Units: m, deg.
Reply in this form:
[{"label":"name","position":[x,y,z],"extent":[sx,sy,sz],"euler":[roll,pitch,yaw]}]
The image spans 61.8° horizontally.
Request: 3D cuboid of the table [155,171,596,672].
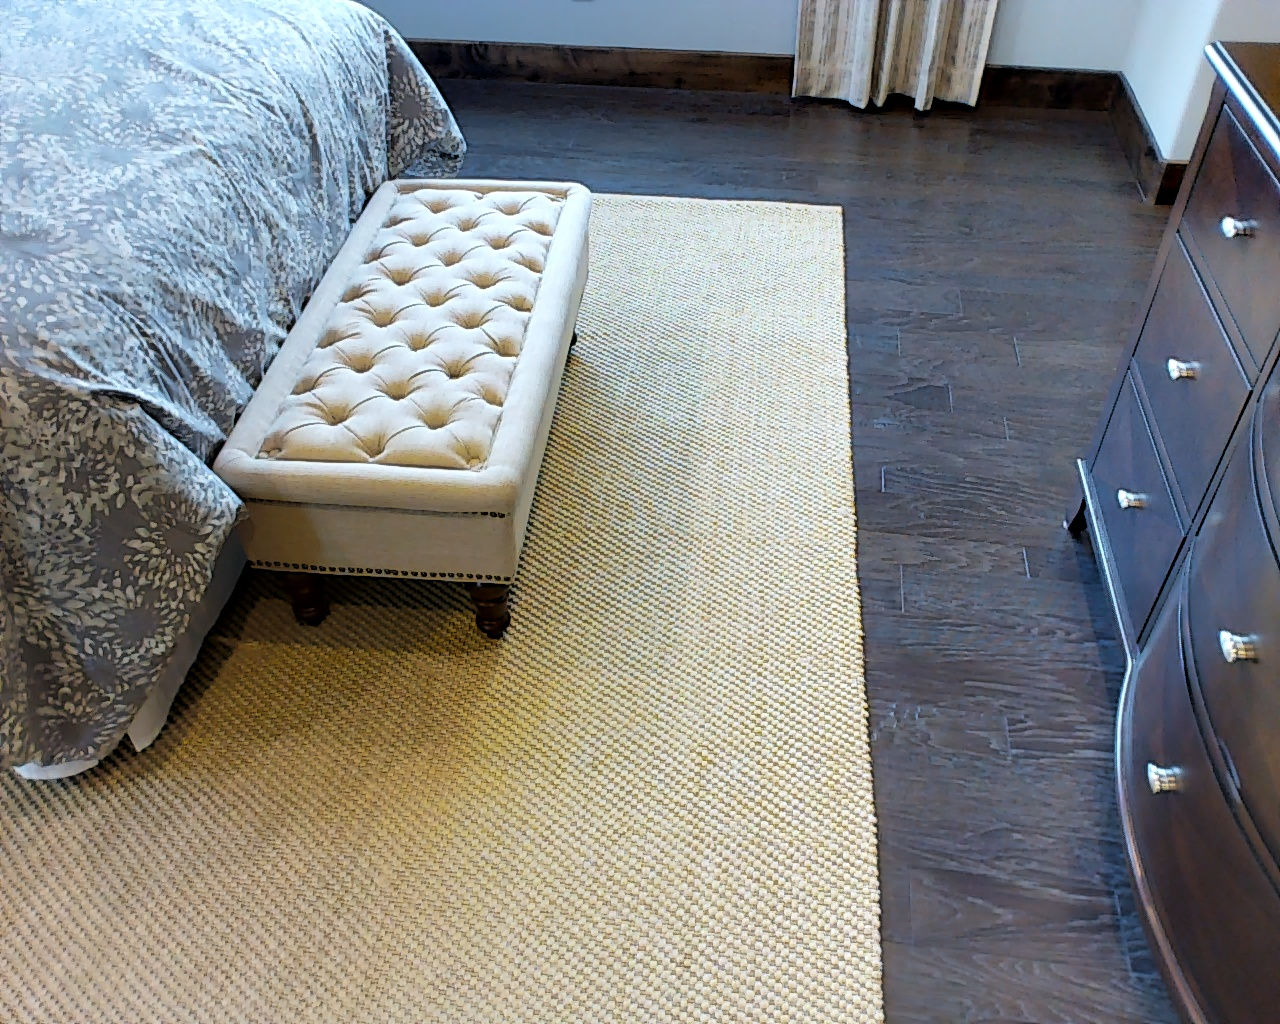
[{"label":"table","position":[-0.410,-0.240,2.080],"extent":[0.520,0.400,1.050],"euler":[3,42,4]}]
